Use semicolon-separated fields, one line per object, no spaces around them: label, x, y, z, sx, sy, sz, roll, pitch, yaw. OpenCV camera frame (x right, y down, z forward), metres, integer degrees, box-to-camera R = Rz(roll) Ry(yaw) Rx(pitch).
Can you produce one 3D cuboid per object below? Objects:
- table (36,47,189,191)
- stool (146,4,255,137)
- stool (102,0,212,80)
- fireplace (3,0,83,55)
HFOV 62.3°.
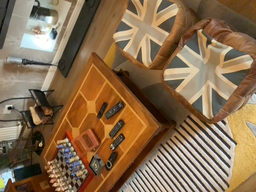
table;-0.250;0.370;1.920;0.820;0.460;1.300;50;120;27
stool;0.530;-0.150;1.310;0.530;0.410;0.510;45;118;30
stool;0.200;-0.480;1.590;0.540;0.390;0.480;45;118;30
fireplace;-1.000;-0.940;2.460;0.500;0.530;0.690;48;119;28
